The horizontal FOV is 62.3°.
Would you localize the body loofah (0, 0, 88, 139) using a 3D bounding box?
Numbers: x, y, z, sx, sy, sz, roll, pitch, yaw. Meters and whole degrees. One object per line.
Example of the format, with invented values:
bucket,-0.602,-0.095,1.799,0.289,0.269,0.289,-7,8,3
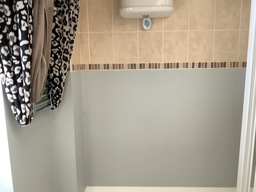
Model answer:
body loofah,-0.450,-0.340,1.240,0.250,1.000,0.610,0,-170,4
